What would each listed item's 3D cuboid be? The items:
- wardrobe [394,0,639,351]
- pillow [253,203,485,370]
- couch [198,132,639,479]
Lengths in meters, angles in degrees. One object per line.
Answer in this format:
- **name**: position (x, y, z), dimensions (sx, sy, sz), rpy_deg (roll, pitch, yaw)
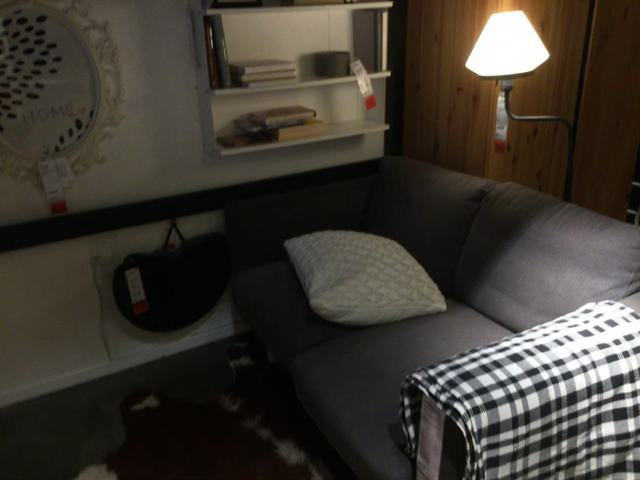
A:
- **wardrobe**: position (1.070, -0.680, 2.560), dimensions (1.280, 1.920, 0.700), rpy_deg (-15, 25, -23)
- **pillow**: position (0.150, 0.120, 2.040), dimensions (0.570, 0.230, 0.600), rpy_deg (-15, 25, -23)
- **couch**: position (0.380, 0.250, 1.960), dimensions (1.050, 0.790, 1.660), rpy_deg (-15, 25, -23)
